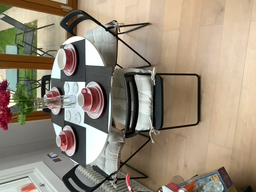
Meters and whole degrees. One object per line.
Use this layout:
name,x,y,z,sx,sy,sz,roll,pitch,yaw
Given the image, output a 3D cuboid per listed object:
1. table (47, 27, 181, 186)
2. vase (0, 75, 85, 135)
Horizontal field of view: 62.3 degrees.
table,-0.200,0.020,2.030,1.070,0.750,1.050,9,99,48
vase,-0.720,0.040,1.670,0.400,0.620,0.380,2,94,48
